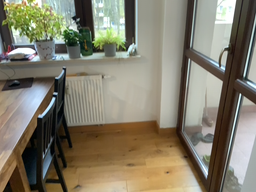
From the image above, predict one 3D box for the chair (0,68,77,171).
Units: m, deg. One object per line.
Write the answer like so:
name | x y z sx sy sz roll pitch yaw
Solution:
chair | -0.820 0.210 2.040 0.490 0.840 0.480 -2 25 -3
